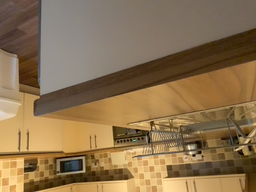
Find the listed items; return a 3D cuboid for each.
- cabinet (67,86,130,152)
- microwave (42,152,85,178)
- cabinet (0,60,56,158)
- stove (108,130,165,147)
[{"bbox_3d":[-0.490,0.420,3.550,0.740,0.900,0.650,-13,163,25],"label":"cabinet"},{"bbox_3d":[-1.120,1.200,3.720,0.460,0.360,0.570,-13,164,25],"label":"microwave"},{"bbox_3d":[-1.440,0.160,2.180,0.590,0.910,1.250,-13,163,25],"label":"cabinet"},{"bbox_3d":[0.140,0.640,3.150,0.600,0.160,0.680,-13,163,25],"label":"stove"}]
